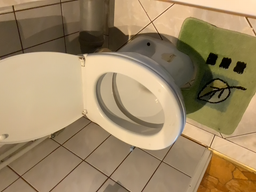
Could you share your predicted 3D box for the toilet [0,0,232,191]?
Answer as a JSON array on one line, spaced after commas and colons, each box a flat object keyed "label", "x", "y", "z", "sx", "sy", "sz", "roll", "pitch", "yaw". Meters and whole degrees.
[{"label": "toilet", "x": -0.160, "y": 0.000, "z": 0.770, "sx": 0.700, "sy": 0.920, "sz": 0.460, "roll": 24, "pitch": 130, "yaw": 24}]
